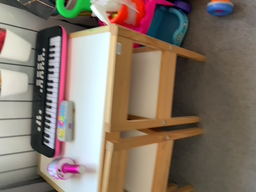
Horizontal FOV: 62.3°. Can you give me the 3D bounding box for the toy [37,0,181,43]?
[{"bbox_3d":[-0.090,-0.360,0.920,0.450,0.410,0.170,14,98,45],"label":"toy"}]
